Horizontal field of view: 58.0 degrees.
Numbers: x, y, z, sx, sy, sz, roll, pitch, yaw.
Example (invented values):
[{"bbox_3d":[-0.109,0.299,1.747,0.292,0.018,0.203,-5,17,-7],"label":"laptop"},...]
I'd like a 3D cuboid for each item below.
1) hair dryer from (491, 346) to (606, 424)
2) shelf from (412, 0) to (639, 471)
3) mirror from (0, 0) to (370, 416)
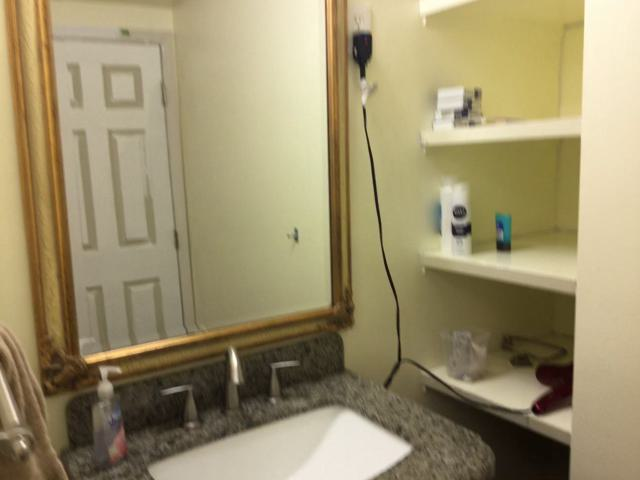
[{"bbox_3d":[0.580,0.360,1.470,0.210,0.100,0.180,-6,10,-33],"label":"hair dryer"},{"bbox_3d":[0.650,-0.110,1.550,0.630,1.130,0.480,-6,10,-33],"label":"shelf"},{"bbox_3d":[-0.240,-0.250,1.250,0.790,1.080,0.110,-6,10,-33],"label":"mirror"}]
